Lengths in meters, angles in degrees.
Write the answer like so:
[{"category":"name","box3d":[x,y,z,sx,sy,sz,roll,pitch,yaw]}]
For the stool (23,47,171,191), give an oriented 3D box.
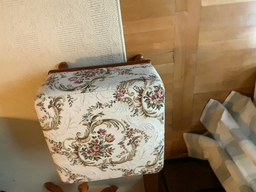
[{"category":"stool","box3d":[-0.090,0.080,0.860,0.420,0.350,0.420,-5,121,-3]}]
